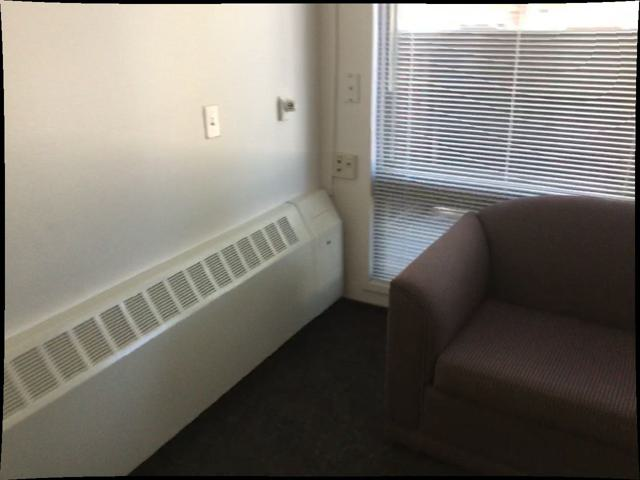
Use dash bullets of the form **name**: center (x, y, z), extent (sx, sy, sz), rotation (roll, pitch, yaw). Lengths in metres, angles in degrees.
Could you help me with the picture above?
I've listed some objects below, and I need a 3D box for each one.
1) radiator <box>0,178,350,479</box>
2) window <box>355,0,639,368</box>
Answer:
- **radiator**: center (-0.489, 0.381, 2.000), extent (0.210, 0.671, 2.089), rotation (12, 26, 29)
- **window**: center (0.809, -0.611, 2.300), extent (1.279, 2.013, 0.380), rotation (12, 26, 29)
